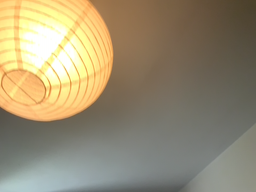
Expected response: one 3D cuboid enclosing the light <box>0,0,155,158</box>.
[{"bbox_3d":[-0.250,-0.210,0.720,0.450,0.410,0.570,27,-151,-19],"label":"light"}]
